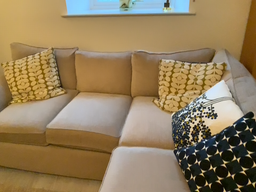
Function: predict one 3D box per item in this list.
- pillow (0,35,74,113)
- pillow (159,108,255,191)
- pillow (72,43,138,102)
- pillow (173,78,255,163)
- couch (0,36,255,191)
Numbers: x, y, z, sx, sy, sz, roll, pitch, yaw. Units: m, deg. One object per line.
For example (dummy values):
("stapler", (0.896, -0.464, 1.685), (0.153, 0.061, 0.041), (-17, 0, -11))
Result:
("pillow", (-0.810, -0.170, 1.830), (0.500, 0.420, 0.250), (31, 21, -32))
("pillow", (0.430, 0.280, 0.920), (0.460, 0.220, 0.410), (-8, 29, -12))
("pillow", (-0.200, -0.200, 1.840), (0.480, 0.330, 0.170), (19, 30, 0))
("pillow", (0.480, 0.110, 1.230), (0.270, 0.240, 0.460), (-6, 28, -8))
("couch", (-0.140, 0.050, 1.730), (2.190, 0.810, 1.000), (3, 28, 8))
